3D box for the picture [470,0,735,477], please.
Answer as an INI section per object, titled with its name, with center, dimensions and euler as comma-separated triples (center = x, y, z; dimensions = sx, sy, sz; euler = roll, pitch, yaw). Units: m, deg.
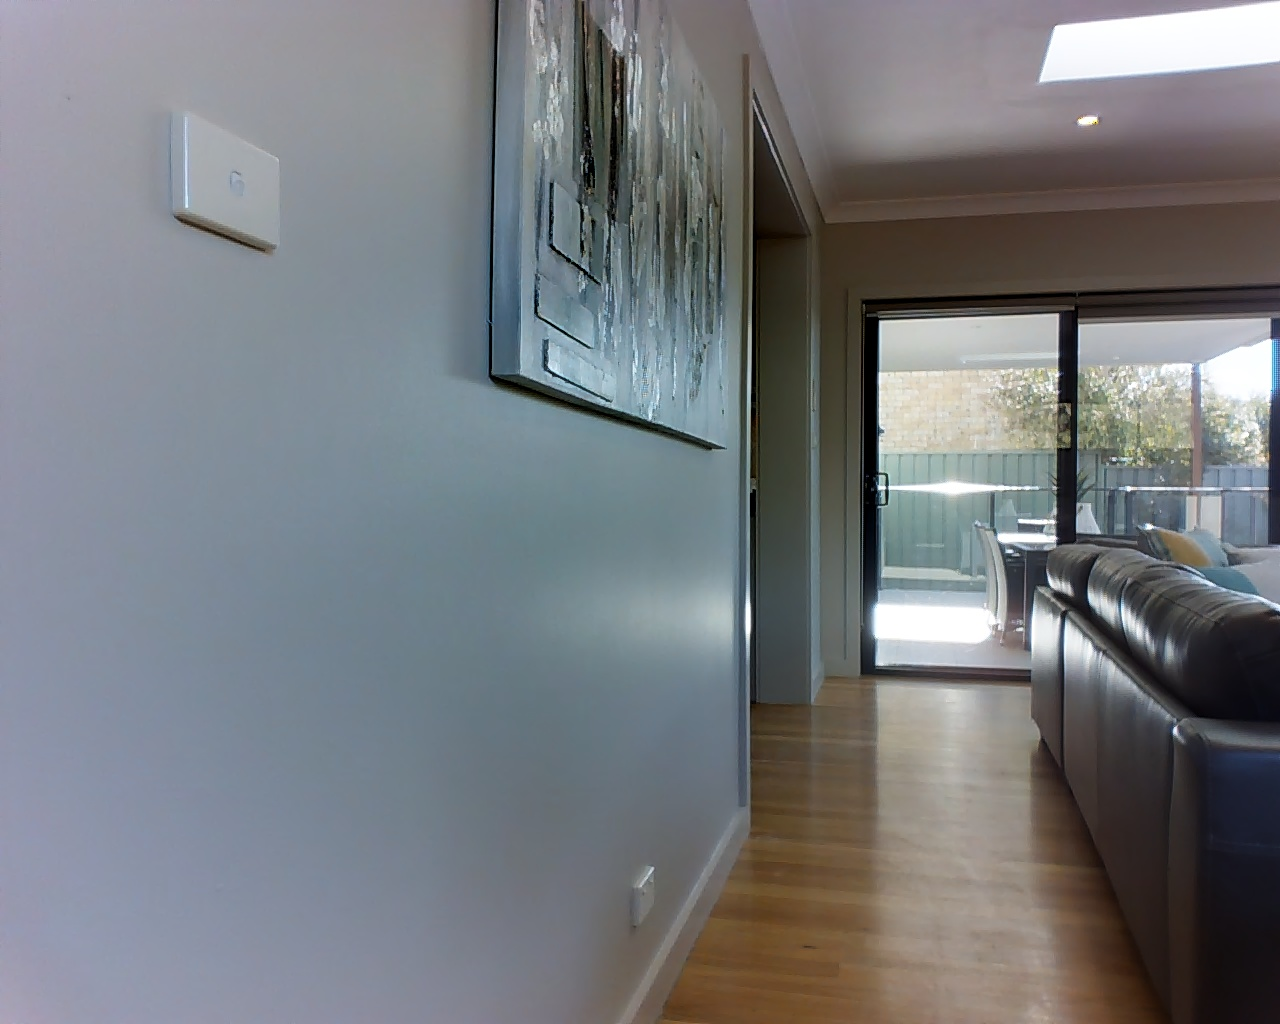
[picture]
center = 0.020, -0.540, 2.000
dimensions = 0.070, 0.930, 1.520
euler = 0, 1, 14
